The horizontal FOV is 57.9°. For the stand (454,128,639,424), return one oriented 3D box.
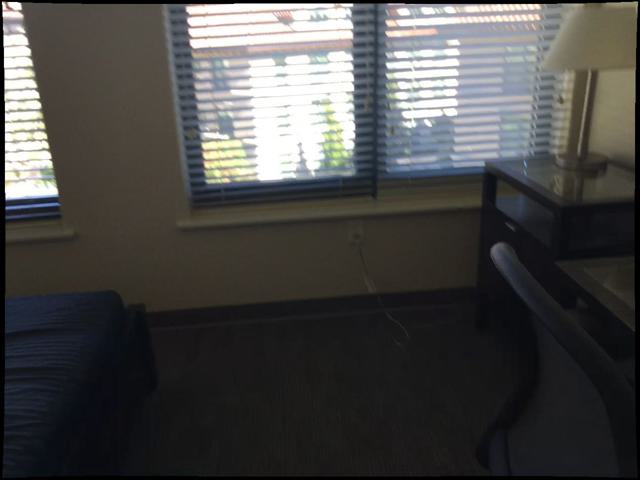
[{"bbox_3d":[0.949,0.070,2.250,0.579,0.781,0.890,-6,23,-3],"label":"stand"}]
